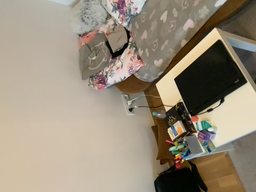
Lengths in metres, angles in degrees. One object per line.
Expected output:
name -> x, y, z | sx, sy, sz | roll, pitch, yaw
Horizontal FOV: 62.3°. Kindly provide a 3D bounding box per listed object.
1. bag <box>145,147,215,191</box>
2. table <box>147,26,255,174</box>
bag -> 0.460, 0.810, 1.700 | 0.340, 0.320, 0.680 | -45, 54, 45
table -> 0.570, 0.050, 1.350 | 0.610, 0.470, 0.630 | -48, 52, 45
